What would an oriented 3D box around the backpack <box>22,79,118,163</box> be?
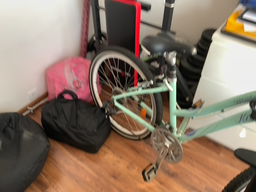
[{"bbox_3d":[-0.390,0.150,1.490,0.550,0.230,0.320,24,48,22],"label":"backpack"}]
